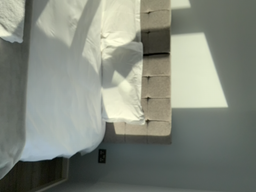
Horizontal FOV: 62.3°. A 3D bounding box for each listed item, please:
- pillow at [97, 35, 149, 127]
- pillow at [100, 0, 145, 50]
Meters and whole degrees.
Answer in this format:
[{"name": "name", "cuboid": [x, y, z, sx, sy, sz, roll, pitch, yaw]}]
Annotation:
[{"name": "pillow", "cuboid": [-0.050, -0.150, 2.190, 0.130, 0.450, 0.900, 127, -33, -84]}, {"name": "pillow", "cuboid": [-0.050, -0.930, 2.300, 0.180, 0.430, 0.780, 153, -58, -80]}]
